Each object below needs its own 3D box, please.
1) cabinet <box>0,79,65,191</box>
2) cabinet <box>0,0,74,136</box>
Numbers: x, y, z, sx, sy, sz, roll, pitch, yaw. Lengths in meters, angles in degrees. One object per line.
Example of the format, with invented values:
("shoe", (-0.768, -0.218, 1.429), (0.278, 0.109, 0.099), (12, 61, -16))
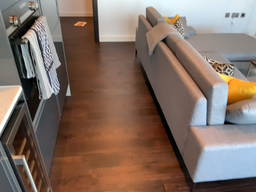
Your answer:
("cabinet", (-0.880, 0.310, 1.590), (0.650, 0.580, 0.680), (-3, 35, -8))
("cabinet", (-0.930, -0.710, 1.680), (0.700, 2.160, 0.640), (-3, 35, -8))
